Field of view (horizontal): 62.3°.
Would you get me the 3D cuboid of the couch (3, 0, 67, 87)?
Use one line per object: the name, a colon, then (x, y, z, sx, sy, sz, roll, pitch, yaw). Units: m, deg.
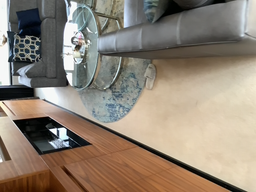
couch: (-1.690, -1.840, 3.760, 1.170, 0.790, 3.270, 10, 101, 52)

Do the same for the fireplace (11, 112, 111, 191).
fireplace: (-0.920, 0.660, 2.570, 1.650, 0.620, 0.550, 13, 103, 52)
